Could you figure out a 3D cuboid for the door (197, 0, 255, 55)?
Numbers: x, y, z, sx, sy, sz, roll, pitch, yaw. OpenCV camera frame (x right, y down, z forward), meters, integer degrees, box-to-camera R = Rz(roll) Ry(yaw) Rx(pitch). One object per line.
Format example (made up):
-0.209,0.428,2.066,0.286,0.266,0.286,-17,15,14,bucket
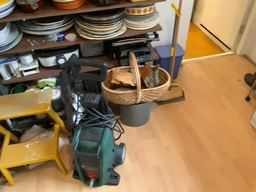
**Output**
1.120,-1.510,2.120,0.040,2.050,0.820,-12,45,-11,door
